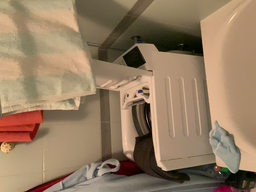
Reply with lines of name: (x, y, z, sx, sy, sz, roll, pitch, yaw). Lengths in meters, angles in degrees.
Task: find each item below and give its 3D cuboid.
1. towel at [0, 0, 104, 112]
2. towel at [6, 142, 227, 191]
towel: (-0.320, -0.190, 0.810, 0.260, 0.380, 0.490, -13, 77, 63)
towel: (0.040, 0.510, 1.260, 0.200, 1.320, 0.350, -9, 81, 63)
